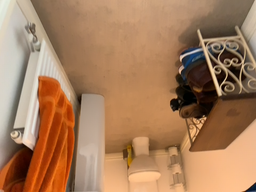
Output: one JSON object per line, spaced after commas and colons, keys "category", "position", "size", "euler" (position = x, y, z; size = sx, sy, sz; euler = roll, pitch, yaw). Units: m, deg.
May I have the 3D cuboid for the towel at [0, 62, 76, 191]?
{"category": "towel", "position": [-0.350, 0.210, 0.870], "size": [0.120, 0.500, 0.470], "euler": [-6, 149, 1]}
